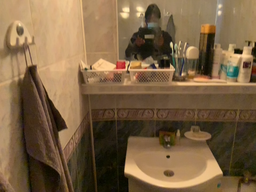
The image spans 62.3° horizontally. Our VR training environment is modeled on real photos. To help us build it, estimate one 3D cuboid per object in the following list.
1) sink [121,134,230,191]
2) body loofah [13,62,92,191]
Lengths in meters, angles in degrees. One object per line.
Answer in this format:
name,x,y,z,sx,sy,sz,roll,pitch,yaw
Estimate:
sink,0.230,0.390,1.210,0.500,0.160,0.410,0,17,3
body loofah,-0.220,0.450,0.820,0.110,1.120,0.290,-1,17,0
